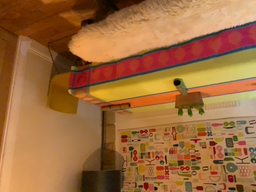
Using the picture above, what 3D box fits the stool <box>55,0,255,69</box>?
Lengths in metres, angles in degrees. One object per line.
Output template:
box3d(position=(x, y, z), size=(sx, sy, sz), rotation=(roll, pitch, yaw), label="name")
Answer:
box3d(position=(0.280, -0.690, 1.550), size=(1.680, 0.550, 0.410), rotation=(-9, 161, 24), label="stool")
